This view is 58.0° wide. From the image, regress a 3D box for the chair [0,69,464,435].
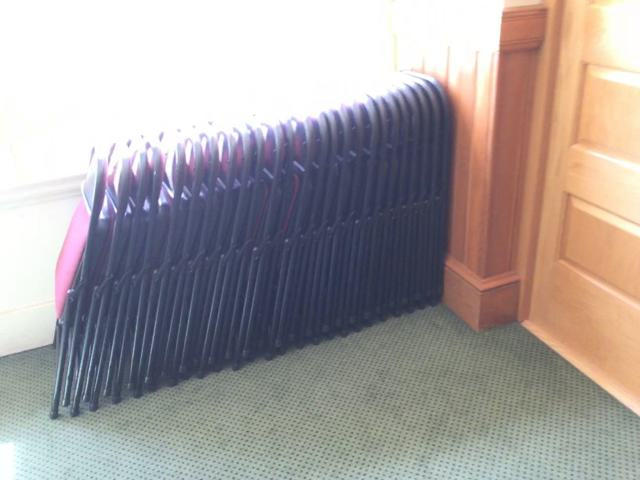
[{"bbox_3d":[-0.210,-0.020,2.100,1.460,0.880,0.390,-17,27,-18],"label":"chair"}]
